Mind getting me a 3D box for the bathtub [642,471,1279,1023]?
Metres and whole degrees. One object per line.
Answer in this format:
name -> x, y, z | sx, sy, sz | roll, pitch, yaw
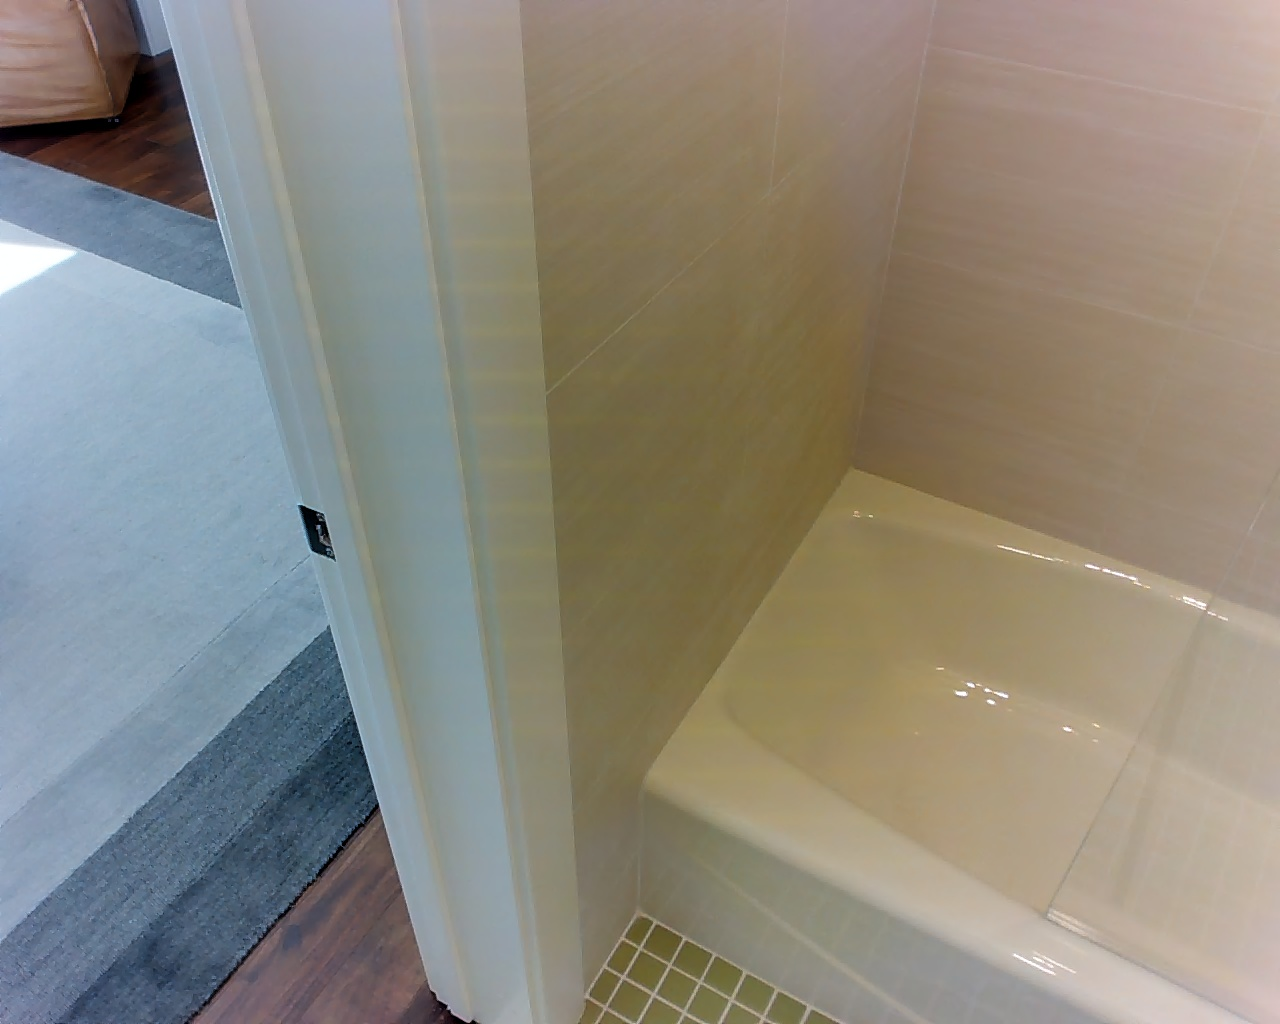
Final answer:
bathtub -> 0.810, 0.520, 1.510 | 1.430, 0.350, 0.750 | 22, 47, 22
